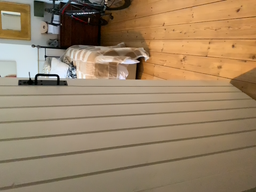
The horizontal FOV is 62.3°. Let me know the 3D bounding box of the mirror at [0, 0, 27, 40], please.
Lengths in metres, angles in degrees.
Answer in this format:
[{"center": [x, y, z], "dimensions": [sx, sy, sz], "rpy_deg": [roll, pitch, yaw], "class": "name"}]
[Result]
[{"center": [-2.300, -1.470, 4.070], "dimensions": [0.150, 0.650, 0.700], "rpy_deg": [-148, 60, -61], "class": "mirror"}]
